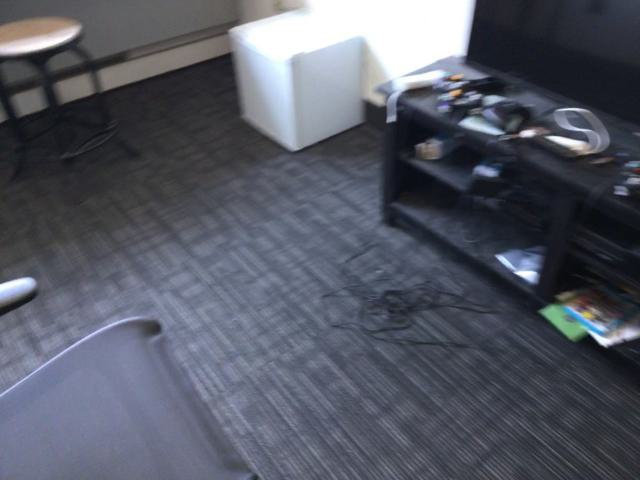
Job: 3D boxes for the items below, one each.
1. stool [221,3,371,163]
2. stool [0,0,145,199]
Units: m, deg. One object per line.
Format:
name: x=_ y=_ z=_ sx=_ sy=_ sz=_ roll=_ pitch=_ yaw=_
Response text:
stool: x=-0.100 y=-0.760 z=2.730 sx=0.460 sy=0.520 sz=0.500 roll=-27 pitch=41 yaw=-27
stool: x=-1.160 y=-0.630 z=2.390 sx=0.530 sy=0.590 sz=0.590 roll=-27 pitch=41 yaw=-27
